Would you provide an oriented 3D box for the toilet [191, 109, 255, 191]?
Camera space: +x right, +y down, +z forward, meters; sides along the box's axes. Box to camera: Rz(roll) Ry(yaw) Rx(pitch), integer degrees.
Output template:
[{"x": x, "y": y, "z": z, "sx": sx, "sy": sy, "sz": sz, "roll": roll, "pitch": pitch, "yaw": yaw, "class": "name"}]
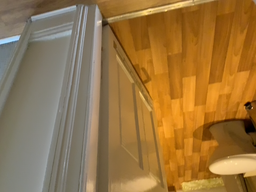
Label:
[{"x": 1.010, "y": 0.590, "z": 1.970, "sx": 0.630, "sy": 0.770, "sz": 0.390, "roll": -10, "pitch": 141, "yaw": 7, "class": "toilet"}]
